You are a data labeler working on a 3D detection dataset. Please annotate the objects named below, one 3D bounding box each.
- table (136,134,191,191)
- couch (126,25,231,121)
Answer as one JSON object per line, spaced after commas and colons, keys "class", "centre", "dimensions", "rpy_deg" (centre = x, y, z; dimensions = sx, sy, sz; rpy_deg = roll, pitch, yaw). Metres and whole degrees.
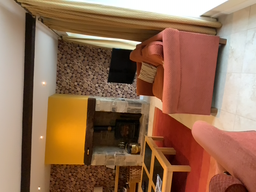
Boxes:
{"class": "table", "centre": [0.560, 1.550, 3.970], "dimensions": [1.480, 0.430, 1.250], "rpy_deg": [-138, 54, -78]}
{"class": "couch", "centre": [0.580, -0.370, 3.440], "dimensions": [1.960, 0.860, 1.040], "rpy_deg": [-140, 56, -78]}
